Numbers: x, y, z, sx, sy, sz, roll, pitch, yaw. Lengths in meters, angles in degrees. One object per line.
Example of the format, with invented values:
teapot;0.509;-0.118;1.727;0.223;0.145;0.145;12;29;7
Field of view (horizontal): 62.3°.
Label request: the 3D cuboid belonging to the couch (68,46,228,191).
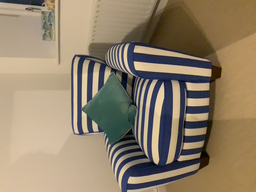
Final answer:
couch;0.010;0.110;1.640;0.930;0.840;0.900;-145;56;-66
